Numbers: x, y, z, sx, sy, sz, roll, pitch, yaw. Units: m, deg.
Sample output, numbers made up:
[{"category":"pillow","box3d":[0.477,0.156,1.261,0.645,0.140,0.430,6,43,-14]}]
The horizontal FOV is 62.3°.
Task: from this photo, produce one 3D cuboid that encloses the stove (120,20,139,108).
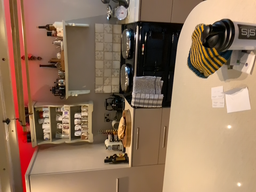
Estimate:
[{"category":"stove","box3d":[0.000,-0.430,2.710,0.700,0.030,0.980,-127,39,-70]}]
